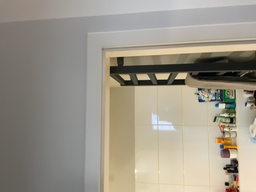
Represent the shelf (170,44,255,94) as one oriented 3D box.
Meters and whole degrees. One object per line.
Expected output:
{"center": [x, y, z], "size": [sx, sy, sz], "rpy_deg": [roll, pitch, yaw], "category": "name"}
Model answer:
{"center": [0.930, -0.140, 1.260], "size": [0.550, 1.300, 0.200], "rpy_deg": [23, -113, -81], "category": "shelf"}
